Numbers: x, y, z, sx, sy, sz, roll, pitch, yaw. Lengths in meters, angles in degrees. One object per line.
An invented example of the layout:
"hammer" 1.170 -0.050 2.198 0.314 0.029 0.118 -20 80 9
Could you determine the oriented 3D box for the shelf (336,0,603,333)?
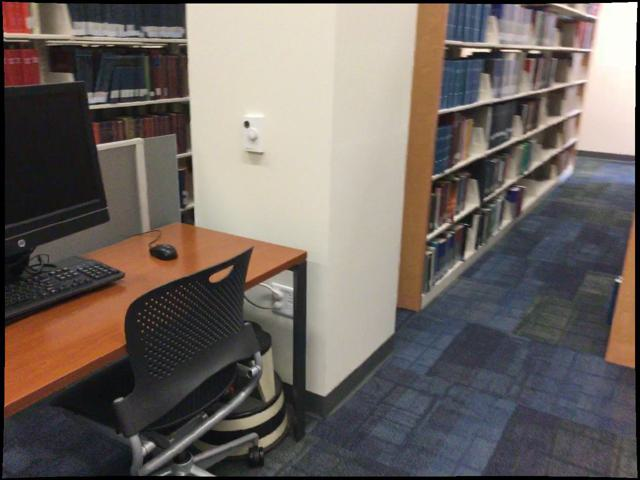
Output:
"shelf" 1.616 -1.544 4.660 0.479 2.816 4.798 15 24 28
